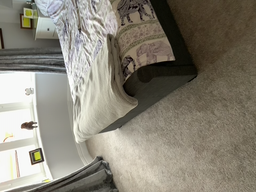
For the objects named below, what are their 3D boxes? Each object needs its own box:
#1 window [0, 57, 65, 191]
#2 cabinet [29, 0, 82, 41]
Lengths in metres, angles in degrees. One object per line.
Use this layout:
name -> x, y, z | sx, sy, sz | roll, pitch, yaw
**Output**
window -> -1.950, 0.620, 2.970 | 0.860, 1.540, 2.180 | -41, 62, 53
cabinet -> -1.140, -1.210, 3.290 | 0.550, 0.620, 0.420 | -44, 59, 51
